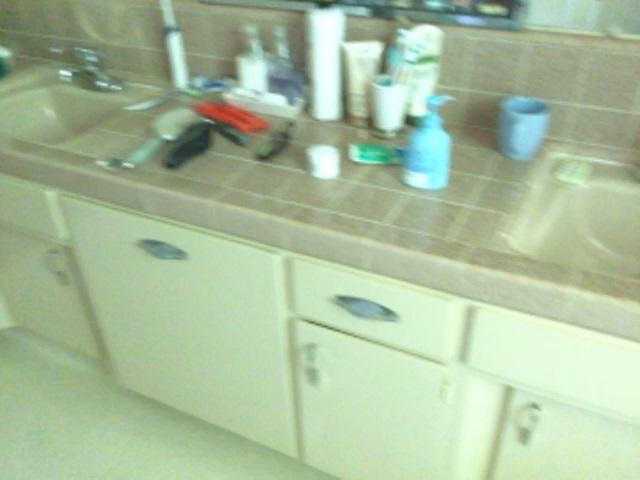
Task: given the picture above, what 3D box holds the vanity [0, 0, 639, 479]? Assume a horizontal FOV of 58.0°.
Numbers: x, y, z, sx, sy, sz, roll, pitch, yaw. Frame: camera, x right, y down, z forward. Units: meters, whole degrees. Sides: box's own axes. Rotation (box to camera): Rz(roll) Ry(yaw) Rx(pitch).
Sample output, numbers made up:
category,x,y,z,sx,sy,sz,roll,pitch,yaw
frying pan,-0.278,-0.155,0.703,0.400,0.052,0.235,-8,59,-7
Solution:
category,x,y,z,sx,sy,sz,roll,pitch,yaw
vanity,-0.070,0.060,1.330,2.680,1.030,0.610,17,38,26
